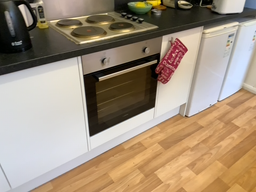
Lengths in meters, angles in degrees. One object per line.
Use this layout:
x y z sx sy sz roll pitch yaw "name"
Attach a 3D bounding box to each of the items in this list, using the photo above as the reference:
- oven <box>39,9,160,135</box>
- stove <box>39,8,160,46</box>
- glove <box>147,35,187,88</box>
-0.210 -0.230 1.590 0.580 0.630 0.590 -22 41 -32 "oven"
-0.200 -0.490 1.410 0.570 0.020 0.590 -22 41 -32 "stove"
0.290 -0.260 1.580 0.290 0.330 0.070 -22 41 -32 "glove"
